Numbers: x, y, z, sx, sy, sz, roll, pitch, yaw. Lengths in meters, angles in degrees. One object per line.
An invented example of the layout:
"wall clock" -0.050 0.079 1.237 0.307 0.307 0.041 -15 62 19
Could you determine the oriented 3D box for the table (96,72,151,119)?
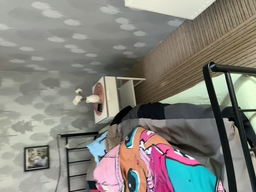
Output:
"table" -0.070 0.010 2.500 0.450 0.470 0.460 -21 72 61
